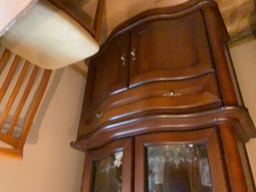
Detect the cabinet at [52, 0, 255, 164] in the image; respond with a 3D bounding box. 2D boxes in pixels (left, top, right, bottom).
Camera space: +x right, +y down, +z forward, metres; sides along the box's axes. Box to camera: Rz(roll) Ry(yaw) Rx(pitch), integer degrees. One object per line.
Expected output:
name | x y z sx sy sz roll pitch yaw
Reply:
cabinet | 0.150 -0.070 1.490 1.050 0.850 0.620 -17 145 30
